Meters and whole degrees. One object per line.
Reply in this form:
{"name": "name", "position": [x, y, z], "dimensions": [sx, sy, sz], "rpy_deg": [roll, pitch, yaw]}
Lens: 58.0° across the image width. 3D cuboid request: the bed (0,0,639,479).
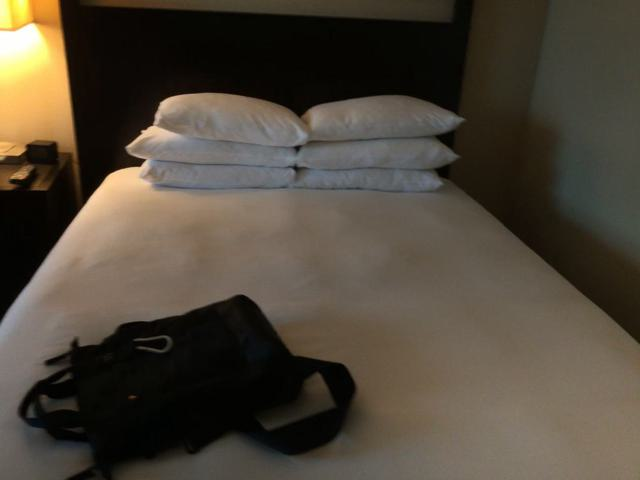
{"name": "bed", "position": [-0.120, -0.040, 1.650], "dimensions": [1.750, 1.580, 2.100], "rpy_deg": [1, 21, -11]}
